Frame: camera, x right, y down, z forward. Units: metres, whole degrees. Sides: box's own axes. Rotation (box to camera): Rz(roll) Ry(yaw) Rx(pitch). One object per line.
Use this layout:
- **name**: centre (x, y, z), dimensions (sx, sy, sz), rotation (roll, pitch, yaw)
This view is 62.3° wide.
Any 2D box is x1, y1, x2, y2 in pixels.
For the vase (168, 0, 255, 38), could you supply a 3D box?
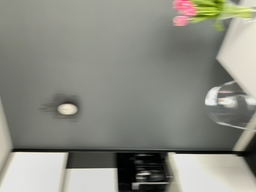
- **vase**: centre (0.520, -0.530, 1.370), dimensions (0.280, 0.430, 0.170), rotation (-99, 14, -53)
